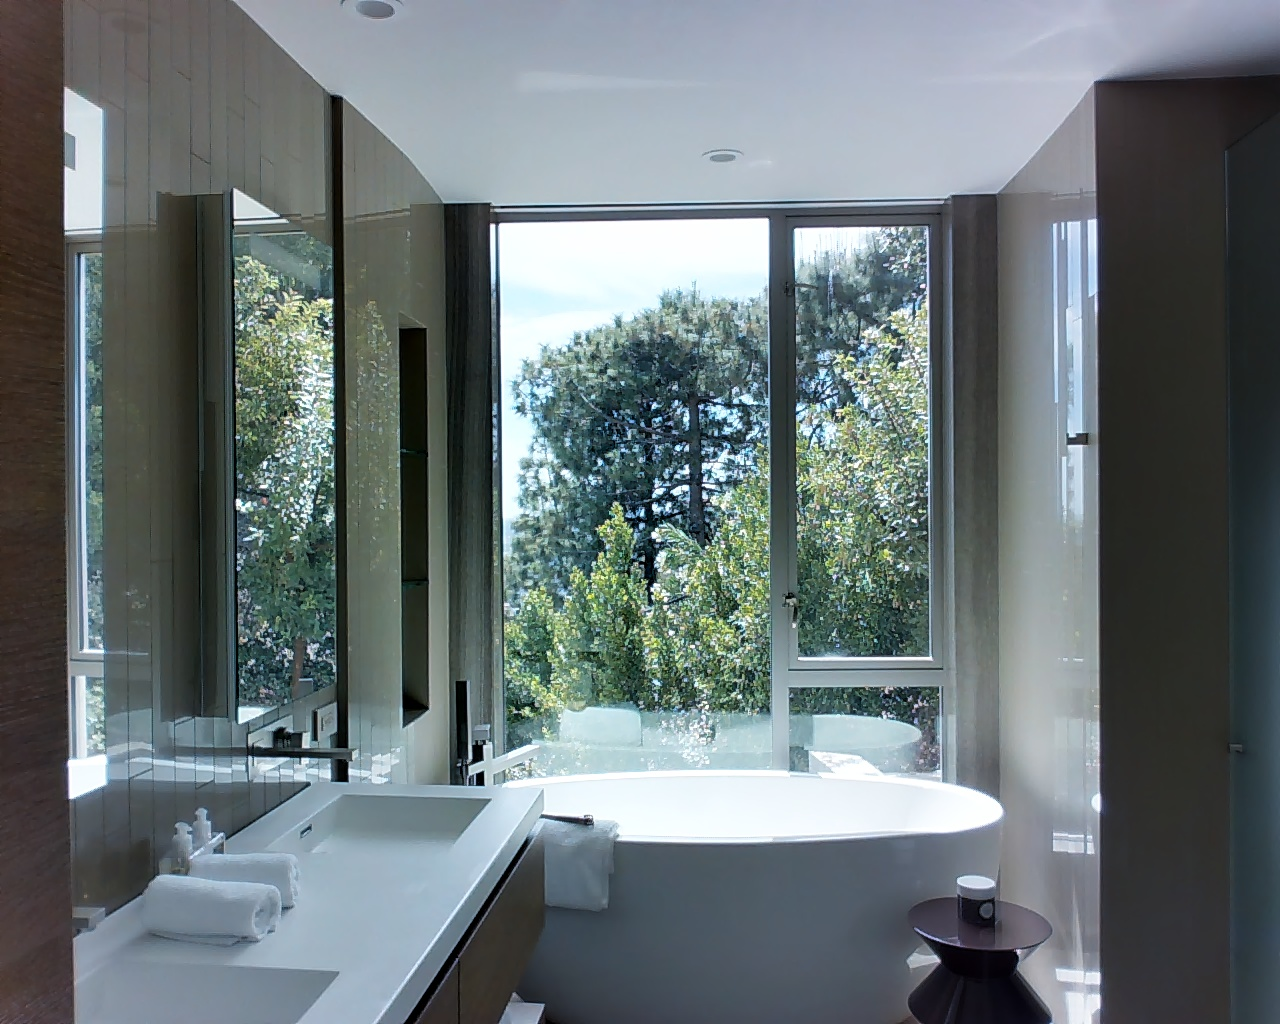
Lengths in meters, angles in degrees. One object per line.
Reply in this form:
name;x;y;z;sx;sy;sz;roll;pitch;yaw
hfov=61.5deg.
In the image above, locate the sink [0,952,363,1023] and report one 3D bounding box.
sink;-0.630;0.700;1.380;0.400;0.090;0.430;-2;0;7
